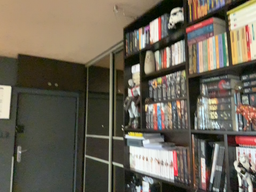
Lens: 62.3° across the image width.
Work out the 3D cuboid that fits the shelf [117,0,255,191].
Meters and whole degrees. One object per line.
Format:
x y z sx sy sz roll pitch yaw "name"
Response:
1.110 -0.080 0.610 0.320 1.830 3.870 5 -9 -34 "shelf"
